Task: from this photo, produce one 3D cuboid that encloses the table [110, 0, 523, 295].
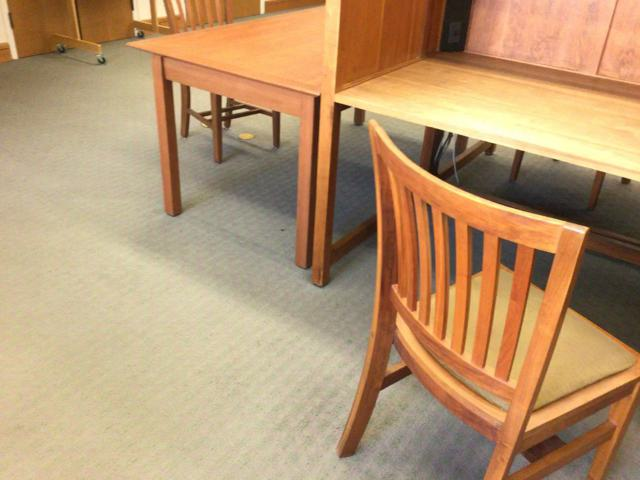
[{"bbox_3d":[0.110,-0.660,2.850,0.990,0.830,1.830,22,35,30],"label":"table"}]
